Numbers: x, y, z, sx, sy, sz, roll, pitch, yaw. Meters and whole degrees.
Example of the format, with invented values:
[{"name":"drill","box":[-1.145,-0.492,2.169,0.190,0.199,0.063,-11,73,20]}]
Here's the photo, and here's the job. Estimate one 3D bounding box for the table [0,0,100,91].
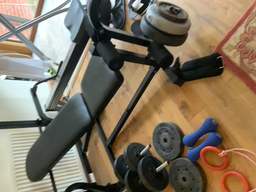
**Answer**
[{"name":"table","box":[-0.970,-0.760,2.160,1.460,0.950,0.470,-57,48,33]}]
